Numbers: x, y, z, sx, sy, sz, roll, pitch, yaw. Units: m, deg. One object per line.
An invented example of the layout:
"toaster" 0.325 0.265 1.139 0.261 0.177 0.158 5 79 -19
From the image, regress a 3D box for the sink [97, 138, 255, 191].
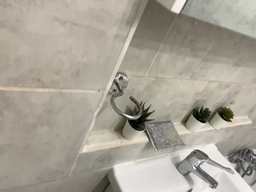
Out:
"sink" 0.250 0.390 0.740 0.580 0.150 0.410 -1 41 -36
